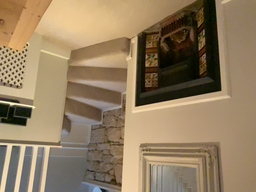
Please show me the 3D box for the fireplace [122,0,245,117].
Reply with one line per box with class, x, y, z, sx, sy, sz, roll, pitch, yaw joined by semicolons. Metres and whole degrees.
fireplace;0.440;-0.350;2.050;0.380;0.960;1.070;14;162;-38
